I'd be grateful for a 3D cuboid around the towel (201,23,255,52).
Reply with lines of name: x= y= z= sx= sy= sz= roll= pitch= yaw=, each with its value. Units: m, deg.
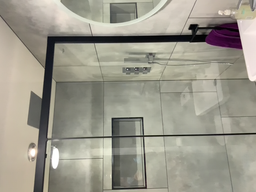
towel: x=0.750 y=-0.380 z=1.390 sx=0.170 sy=0.470 sz=0.110 roll=96 pitch=172 yaw=-73
